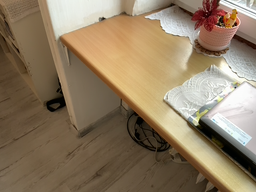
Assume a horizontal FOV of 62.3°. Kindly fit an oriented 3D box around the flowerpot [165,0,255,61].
[{"bbox_3d":[0.330,-0.360,0.830,0.180,0.310,0.260,-31,57,-27],"label":"flowerpot"}]
